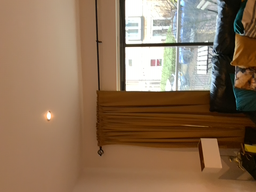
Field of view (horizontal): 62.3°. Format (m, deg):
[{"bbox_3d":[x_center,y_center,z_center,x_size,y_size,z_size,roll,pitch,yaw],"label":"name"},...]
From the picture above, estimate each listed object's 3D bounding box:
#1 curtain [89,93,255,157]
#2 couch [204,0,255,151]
[{"bbox_3d":[0.560,0.340,2.630,0.300,2.010,0.720,-72,-19,-83],"label":"curtain"},{"bbox_3d":[1.400,-0.370,2.080,0.990,0.900,1.480,-78,-12,-79],"label":"couch"}]
